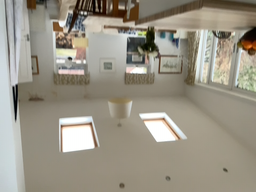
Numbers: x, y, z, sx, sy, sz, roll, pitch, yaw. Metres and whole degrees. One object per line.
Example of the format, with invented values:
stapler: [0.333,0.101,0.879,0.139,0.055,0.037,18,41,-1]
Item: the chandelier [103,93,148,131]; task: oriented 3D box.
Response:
chandelier: [-0.080,0.340,4.850,0.800,0.510,0.640,-14,17,-15]
